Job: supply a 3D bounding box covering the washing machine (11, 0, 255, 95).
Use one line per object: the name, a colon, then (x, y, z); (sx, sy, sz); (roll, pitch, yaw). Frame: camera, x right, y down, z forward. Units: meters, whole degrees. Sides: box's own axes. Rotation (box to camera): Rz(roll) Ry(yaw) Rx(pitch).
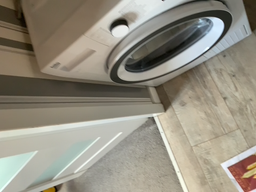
washing machine: (0.090, -0.390, 0.920); (0.640, 0.840, 0.530); (-30, 73, 29)
